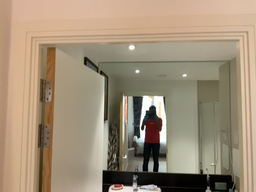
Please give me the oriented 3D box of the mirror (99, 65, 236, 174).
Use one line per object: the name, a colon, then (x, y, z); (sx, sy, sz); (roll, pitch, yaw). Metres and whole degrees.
mirror: (0.440, 0.250, 2.460); (1.540, 1.220, 0.050); (1, -4, 4)
